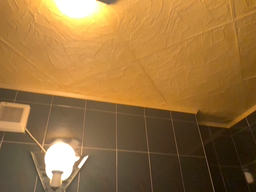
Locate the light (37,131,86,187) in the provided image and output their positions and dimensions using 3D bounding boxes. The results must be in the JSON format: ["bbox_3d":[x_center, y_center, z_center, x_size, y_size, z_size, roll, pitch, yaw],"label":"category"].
[{"bbox_3d":[-0.320,0.310,1.030,0.180,0.200,0.190,11,-37,-18],"label":"light"}]
